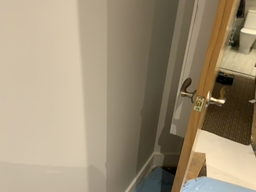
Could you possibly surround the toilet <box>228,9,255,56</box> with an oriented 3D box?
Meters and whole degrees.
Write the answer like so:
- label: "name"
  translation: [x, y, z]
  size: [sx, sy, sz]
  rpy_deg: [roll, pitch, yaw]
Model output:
- label: "toilet"
  translation: [2.550, -1.390, 4.610]
  size: [0.400, 0.860, 0.520]
  rpy_deg: [19, 34, 24]
